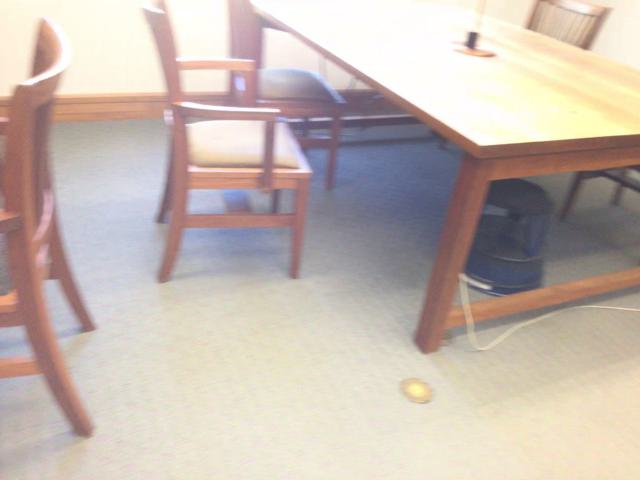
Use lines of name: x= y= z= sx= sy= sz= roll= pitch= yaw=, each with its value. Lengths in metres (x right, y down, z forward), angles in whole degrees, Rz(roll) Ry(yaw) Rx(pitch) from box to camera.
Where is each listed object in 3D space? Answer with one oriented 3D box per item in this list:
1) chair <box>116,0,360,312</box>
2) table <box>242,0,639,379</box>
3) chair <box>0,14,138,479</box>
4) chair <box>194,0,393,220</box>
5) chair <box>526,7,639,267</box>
chair: x=-0.320 y=-0.380 z=2.070 sx=0.620 sy=0.980 sz=0.640 roll=-9 pitch=29 yaw=-23
table: x=0.610 y=-0.470 z=2.550 sx=1.400 sy=0.950 sz=1.750 roll=-9 pitch=29 yaw=-24
chair: x=-0.850 y=0.050 z=1.270 sx=0.680 sy=0.950 sz=0.770 roll=-9 pitch=29 yaw=-23
chair: x=-0.160 y=-0.700 z=2.610 sx=0.620 sy=0.940 sz=0.710 roll=-9 pitch=29 yaw=-23
chair: x=1.500 y=-0.500 z=2.620 sx=0.630 sy=0.970 sz=0.640 roll=-9 pitch=29 yaw=-23
